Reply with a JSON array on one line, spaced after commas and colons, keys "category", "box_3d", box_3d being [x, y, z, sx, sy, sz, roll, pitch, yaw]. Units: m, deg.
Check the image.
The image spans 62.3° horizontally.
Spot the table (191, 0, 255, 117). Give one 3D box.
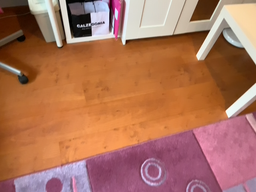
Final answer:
[{"category": "table", "box_3d": [0.890, -0.280, 1.420, 0.600, 0.450, 0.610, -9, 61, -13]}]
